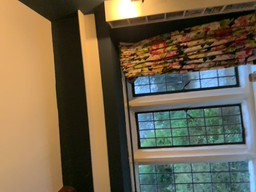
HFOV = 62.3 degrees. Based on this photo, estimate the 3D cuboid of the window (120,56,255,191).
[{"bbox_3d":[0.710,1.020,2.400,0.210,1.380,2.790,12,-106,-81],"label":"window"}]
